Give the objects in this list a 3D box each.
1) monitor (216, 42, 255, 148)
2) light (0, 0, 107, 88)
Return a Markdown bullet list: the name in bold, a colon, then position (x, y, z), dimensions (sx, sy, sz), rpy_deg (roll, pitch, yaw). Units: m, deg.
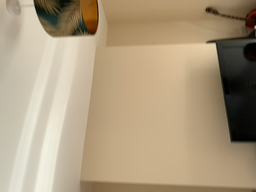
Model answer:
- **monitor**: position (1.220, -0.050, 1.980), dimensions (0.620, 1.050, 0.070), rpy_deg (0, -23, 6)
- **light**: position (-0.410, -0.340, 0.990), dimensions (0.560, 0.430, 0.460), rpy_deg (2, -22, 0)
